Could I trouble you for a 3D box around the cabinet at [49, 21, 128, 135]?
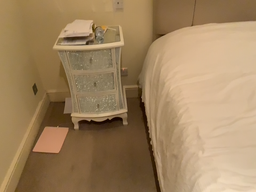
[{"bbox_3d":[-0.270,-0.140,1.820,0.480,0.820,0.470,-3,37,0],"label":"cabinet"}]
